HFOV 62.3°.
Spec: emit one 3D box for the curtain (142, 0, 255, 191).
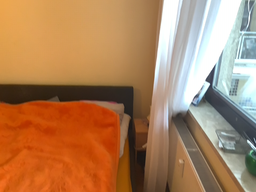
[{"bbox_3d":[0.310,-0.410,1.510,0.180,2.340,1.760,1,20,-1],"label":"curtain"}]
